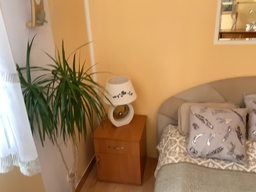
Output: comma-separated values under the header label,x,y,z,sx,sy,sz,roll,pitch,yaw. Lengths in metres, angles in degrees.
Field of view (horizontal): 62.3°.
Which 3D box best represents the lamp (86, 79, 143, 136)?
label,x,y,z,sx,sy,sz,roll,pitch,yaw
lamp,-0.100,0.090,1.970,0.420,0.390,0.360,4,22,14
